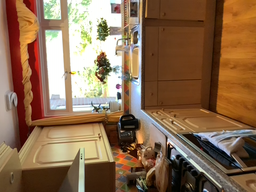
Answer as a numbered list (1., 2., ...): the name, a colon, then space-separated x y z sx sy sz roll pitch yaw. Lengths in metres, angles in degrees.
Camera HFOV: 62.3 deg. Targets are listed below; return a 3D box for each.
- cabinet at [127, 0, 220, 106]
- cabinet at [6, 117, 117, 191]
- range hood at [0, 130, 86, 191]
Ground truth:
1. cabinet: 0.510 -0.890 2.650 0.640 0.940 1.880 -141 50 -73
2. cabinet: -0.660 0.560 2.360 1.160 0.890 0.300 -141 50 -74
3. range hood: -0.570 0.660 1.240 1.070 0.640 0.590 -150 58 -75
